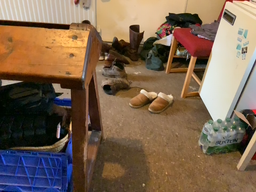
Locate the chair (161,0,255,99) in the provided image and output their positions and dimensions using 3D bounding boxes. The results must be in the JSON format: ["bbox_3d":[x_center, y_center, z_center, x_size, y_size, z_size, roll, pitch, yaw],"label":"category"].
[{"bbox_3d":[0.700,-0.490,1.870,0.550,0.890,0.490,-3,37,-11],"label":"chair"}]
